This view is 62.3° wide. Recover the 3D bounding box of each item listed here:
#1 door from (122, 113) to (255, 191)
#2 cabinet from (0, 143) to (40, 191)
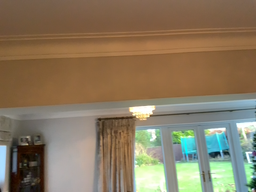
[{"bbox_3d":[1.470,1.620,4.380,3.020,2.350,0.200,-2,-13,-11],"label":"door"},{"bbox_3d":[-1.860,1.330,3.580,0.400,0.990,0.570,-15,-16,40],"label":"cabinet"}]
